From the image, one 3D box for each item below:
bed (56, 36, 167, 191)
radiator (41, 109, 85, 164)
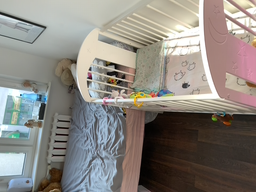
[{"bbox_3d":[-0.320,0.570,2.660,1.430,0.500,2.230,-2,79,55],"label":"bed"},{"bbox_3d":[-0.980,0.620,3.240,0.230,0.500,0.760,-11,72,54],"label":"radiator"}]
